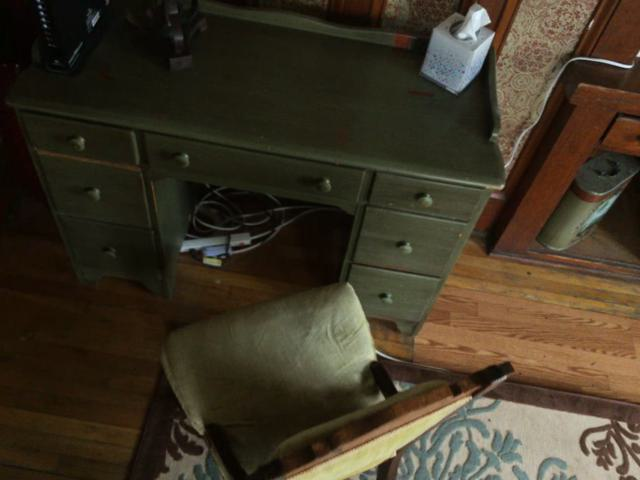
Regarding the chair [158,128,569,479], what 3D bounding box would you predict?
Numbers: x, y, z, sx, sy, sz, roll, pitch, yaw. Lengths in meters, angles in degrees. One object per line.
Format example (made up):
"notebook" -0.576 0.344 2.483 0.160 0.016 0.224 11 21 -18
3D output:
"chair" -0.020 0.310 1.280 0.490 0.890 0.560 -13 56 -20
